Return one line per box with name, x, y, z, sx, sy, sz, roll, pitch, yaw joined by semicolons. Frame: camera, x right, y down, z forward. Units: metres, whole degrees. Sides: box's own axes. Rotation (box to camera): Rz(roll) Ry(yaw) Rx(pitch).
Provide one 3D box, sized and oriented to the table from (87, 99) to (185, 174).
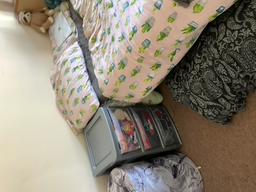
table;0.050;0.310;1.720;0.400;0.570;0.400;-50;52;42
